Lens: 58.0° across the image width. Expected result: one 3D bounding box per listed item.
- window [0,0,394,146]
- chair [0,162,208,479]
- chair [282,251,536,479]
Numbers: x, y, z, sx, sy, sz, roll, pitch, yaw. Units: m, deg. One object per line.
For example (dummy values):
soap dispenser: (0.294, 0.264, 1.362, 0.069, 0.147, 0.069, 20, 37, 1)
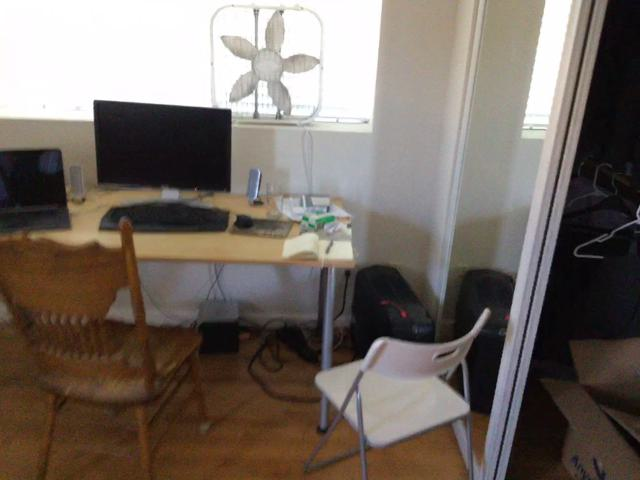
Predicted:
window: (-0.600, -1.030, 2.600, 1.780, 1.020, 0.470, 3, 20, -5)
chair: (-0.700, 0.320, 1.890, 0.590, 1.010, 0.570, 3, 20, -5)
chair: (0.250, 0.410, 1.890, 0.540, 0.530, 0.550, -7, 23, -28)
